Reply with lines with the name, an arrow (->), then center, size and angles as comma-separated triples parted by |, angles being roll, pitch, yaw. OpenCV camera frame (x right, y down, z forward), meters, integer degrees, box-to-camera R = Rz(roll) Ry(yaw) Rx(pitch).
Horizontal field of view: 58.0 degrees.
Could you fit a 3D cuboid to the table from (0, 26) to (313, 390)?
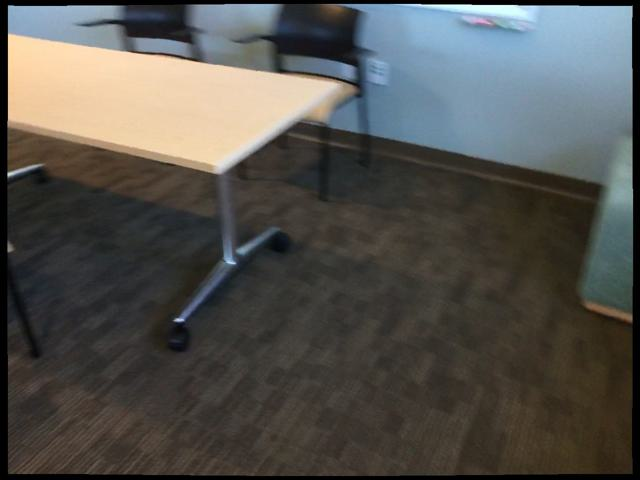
table -> -1.068, -0.301, 2.200 | 1.887, 0.671, 0.880 | 17, 36, 23
